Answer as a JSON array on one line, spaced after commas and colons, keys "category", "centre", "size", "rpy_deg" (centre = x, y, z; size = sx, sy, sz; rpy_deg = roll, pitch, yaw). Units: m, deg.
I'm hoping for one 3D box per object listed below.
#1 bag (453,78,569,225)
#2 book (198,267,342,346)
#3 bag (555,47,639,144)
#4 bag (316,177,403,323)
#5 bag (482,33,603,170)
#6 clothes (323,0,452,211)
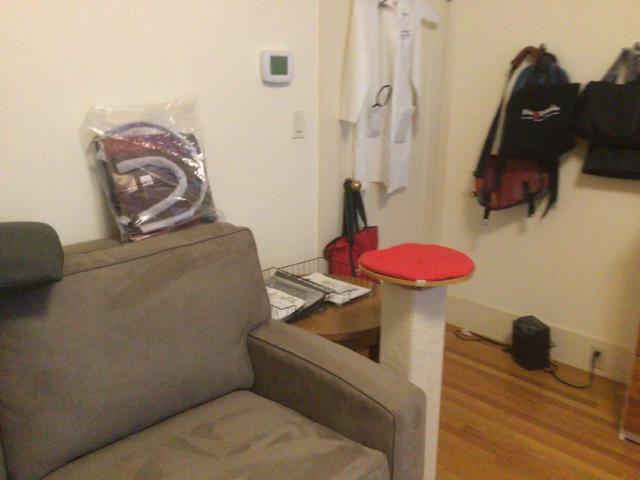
[{"category": "bag", "centre": [0.870, -0.420, 2.670], "size": [0.410, 0.620, 0.230], "rpy_deg": [13, 21, 43]}, {"category": "book", "centre": [-0.180, 0.220, 2.060], "size": [0.420, 0.100, 0.310], "rpy_deg": [13, 21, 43]}, {"category": "bag", "centre": [1.170, -0.580, 2.320], "size": [0.340, 0.350, 0.210], "rpy_deg": [13, 21, 43]}, {"category": "bag", "centre": [0.180, 0.030, 2.570], "size": [0.180, 0.560, 0.360], "rpy_deg": [13, 21, 43]}, {"category": "bag", "centre": [0.960, -0.600, 2.520], "size": [0.380, 0.530, 0.260], "rpy_deg": [13, 21, 43]}, {"category": "clothes", "centre": [0.310, -0.680, 2.530], "size": [0.160, 1.000, 0.670], "rpy_deg": [13, 21, 43]}]
